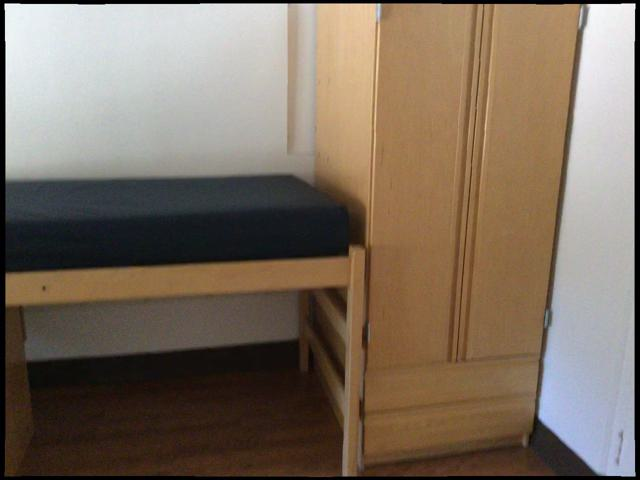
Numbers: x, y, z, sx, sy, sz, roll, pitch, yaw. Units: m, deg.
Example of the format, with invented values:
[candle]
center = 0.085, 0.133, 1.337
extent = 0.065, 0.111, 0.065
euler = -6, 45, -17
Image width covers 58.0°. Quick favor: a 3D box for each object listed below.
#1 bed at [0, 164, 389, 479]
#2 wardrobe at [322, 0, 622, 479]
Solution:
[bed]
center = -0.978, 0.331, 2.400
extent = 2.265, 1.072, 1.130
euler = -2, 16, -8
[wardrobe]
center = 0.489, -0.130, 2.520
extent = 0.808, 1.874, 1.070
euler = -2, 16, -8
